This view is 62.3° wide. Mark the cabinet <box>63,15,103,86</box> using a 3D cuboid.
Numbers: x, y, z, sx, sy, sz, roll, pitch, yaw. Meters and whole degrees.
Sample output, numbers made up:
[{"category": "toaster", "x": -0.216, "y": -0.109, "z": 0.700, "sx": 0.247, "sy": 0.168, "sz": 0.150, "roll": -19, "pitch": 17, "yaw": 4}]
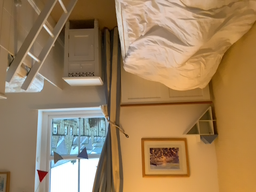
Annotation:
[{"category": "cabinet", "x": -0.500, "y": -0.500, "z": 2.460, "sx": 0.360, "sy": 0.690, "sz": 0.400, "roll": -2, "pitch": 169, "yaw": 1}]
